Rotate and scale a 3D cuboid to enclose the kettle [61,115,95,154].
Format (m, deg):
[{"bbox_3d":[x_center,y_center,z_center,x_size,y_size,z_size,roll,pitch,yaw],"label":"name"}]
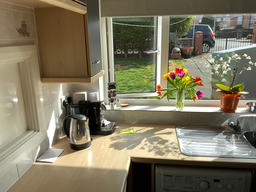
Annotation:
[{"bbox_3d":[-0.350,0.270,1.510,0.180,0.240,0.120,1,16,9],"label":"kettle"}]

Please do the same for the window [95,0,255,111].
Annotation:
[{"bbox_3d":[0.670,-0.370,1.920,1.850,0.970,0.250,0,16,6],"label":"window"}]
